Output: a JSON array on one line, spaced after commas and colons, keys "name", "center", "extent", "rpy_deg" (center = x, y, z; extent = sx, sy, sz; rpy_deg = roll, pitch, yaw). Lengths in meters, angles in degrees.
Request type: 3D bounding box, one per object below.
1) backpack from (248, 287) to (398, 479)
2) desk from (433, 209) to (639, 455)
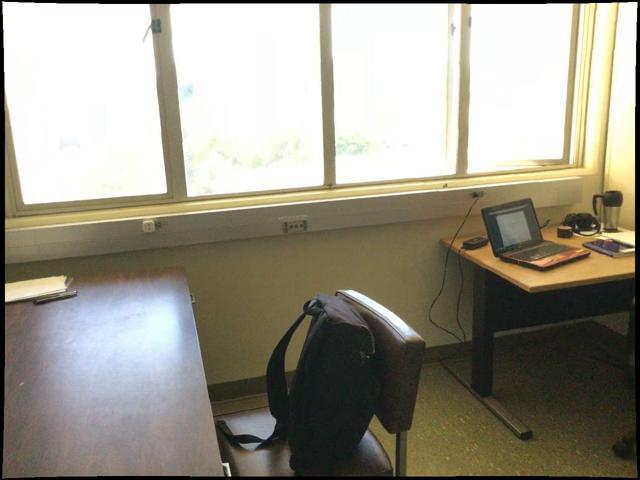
[{"name": "backpack", "center": [0.000, 0.401, 1.650], "extent": [0.329, 0.401, 0.340], "rpy_deg": [-7, 16, -15]}, {"name": "desk", "center": [1.157, 0.341, 2.680], "extent": [0.978, 0.732, 0.810], "rpy_deg": [-7, 16, -15]}]
